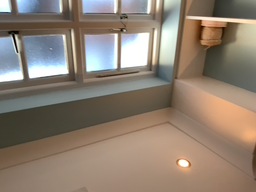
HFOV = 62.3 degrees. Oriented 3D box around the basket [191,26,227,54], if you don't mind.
[{"bbox_3d":[0.610,-0.430,1.610,0.160,0.170,0.170,-11,-154,-28],"label":"basket"}]
